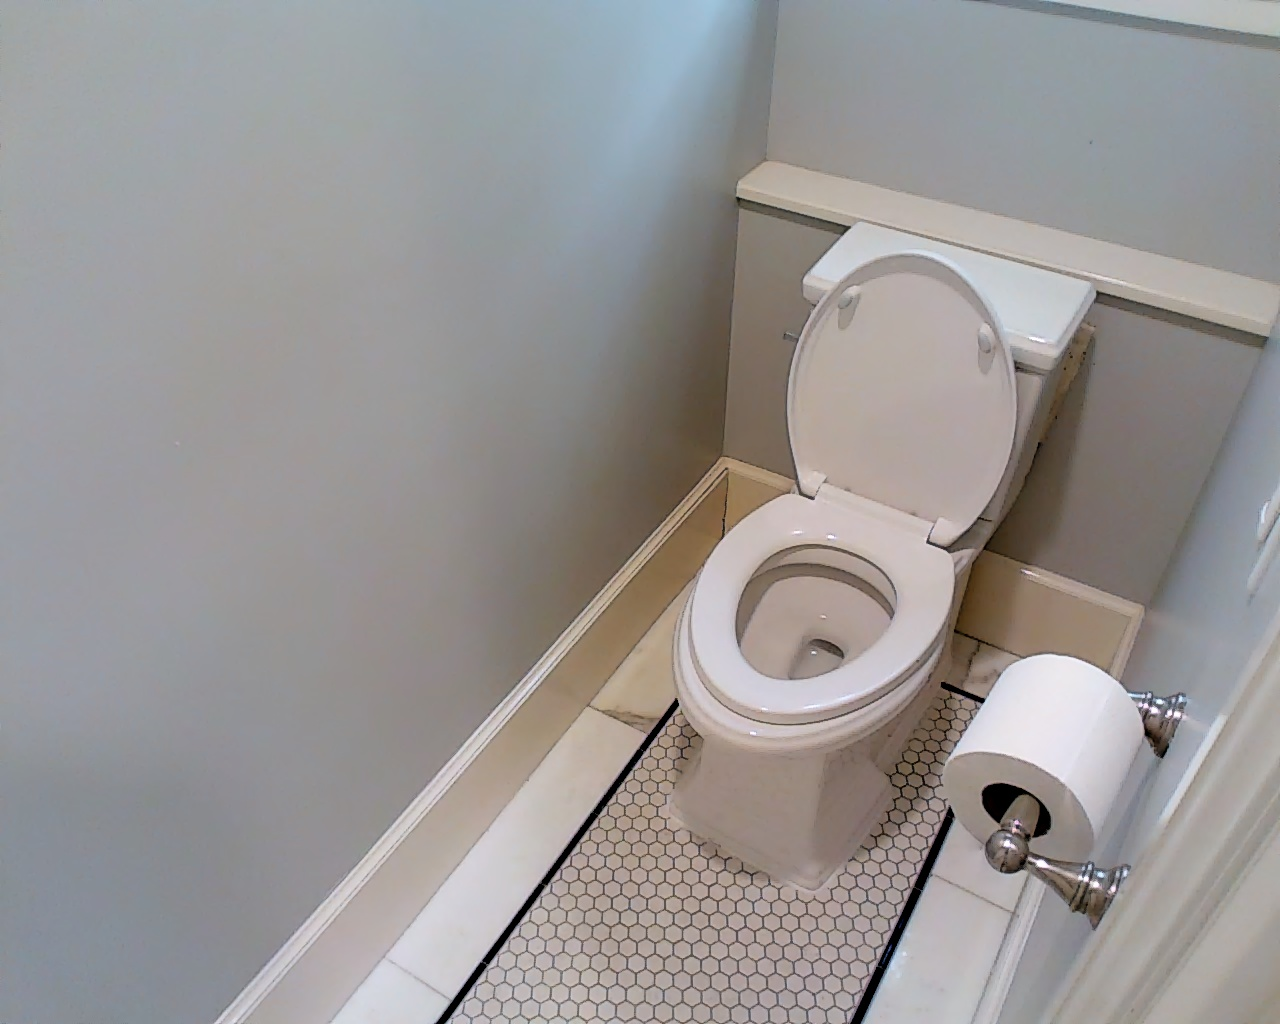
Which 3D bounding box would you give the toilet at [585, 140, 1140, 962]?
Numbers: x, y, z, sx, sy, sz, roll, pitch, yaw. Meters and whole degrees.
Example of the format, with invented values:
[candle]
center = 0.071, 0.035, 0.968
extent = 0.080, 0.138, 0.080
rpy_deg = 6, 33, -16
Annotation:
[toilet]
center = 0.320, 0.050, 1.650
extent = 0.430, 0.910, 0.760
rpy_deg = 22, 46, 23
